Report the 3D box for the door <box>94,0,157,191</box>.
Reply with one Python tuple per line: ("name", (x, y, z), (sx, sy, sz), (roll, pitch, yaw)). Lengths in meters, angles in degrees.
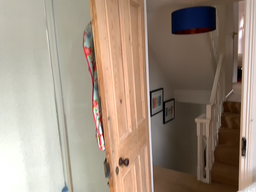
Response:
("door", (0.050, 0.130, 1.620), (0.110, 1.900, 0.800), (1, 11, 21))
